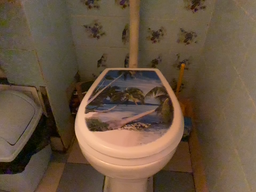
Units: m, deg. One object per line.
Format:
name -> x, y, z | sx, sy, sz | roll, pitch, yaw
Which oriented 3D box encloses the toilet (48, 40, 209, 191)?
toilet -> 0.020, 0.100, 0.940 | 0.420, 0.420, 0.660 | 3, 40, 3
